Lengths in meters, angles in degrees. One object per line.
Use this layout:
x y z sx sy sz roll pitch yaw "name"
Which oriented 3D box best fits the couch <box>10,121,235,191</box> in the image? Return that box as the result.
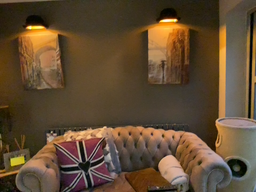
-0.030 0.790 2.020 1.590 0.860 0.940 -2 7 0 "couch"
